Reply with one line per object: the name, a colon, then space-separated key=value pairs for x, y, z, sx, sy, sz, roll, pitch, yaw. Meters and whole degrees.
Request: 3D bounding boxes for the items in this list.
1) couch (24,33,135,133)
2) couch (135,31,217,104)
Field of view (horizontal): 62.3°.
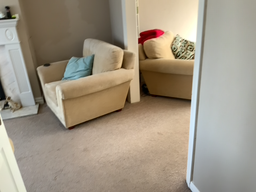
couch: x=-0.670 y=-0.300 z=2.900 sx=1.000 sy=0.860 sz=1.180 roll=-18 pitch=29 yaw=-30
couch: x=0.790 y=-0.530 z=3.350 sx=0.990 sy=0.790 sz=1.110 roll=8 pitch=27 yaw=22
